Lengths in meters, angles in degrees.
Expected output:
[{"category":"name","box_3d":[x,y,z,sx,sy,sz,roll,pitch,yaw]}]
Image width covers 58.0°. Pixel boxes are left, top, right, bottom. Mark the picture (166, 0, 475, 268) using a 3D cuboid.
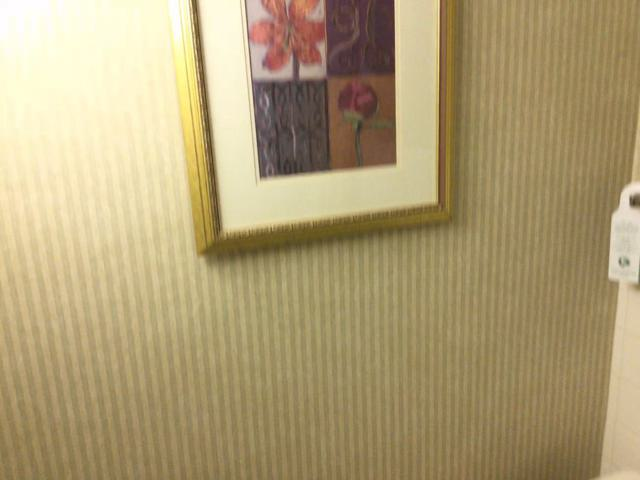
[{"category":"picture","box_3d":[0.020,-0.250,0.920,0.490,0.540,0.040,-6,14,-18]}]
